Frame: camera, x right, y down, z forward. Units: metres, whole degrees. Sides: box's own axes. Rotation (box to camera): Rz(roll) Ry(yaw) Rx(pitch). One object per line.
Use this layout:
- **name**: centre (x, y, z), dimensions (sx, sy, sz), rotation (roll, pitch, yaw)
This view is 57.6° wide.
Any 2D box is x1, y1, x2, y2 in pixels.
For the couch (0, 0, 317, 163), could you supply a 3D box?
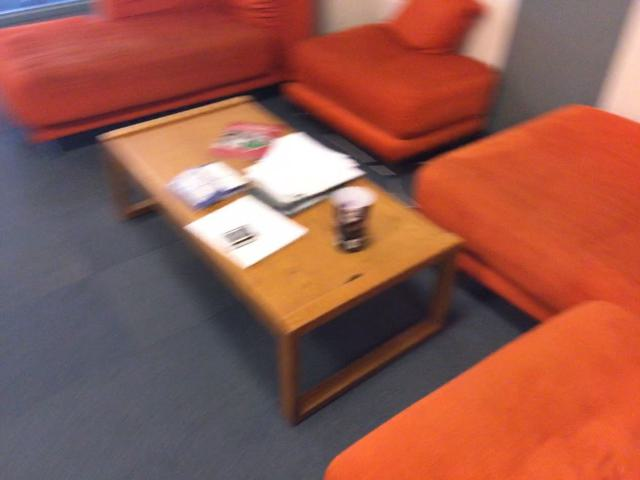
- **couch**: centre (-0.910, -1.090, 2.930), dimensions (1.520, 0.670, 0.940), rotation (-22, 44, -28)

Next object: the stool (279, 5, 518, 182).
- **stool**: centre (0.330, -0.760, 2.830), dimensions (0.660, 0.410, 0.930), rotation (-22, 44, -28)
